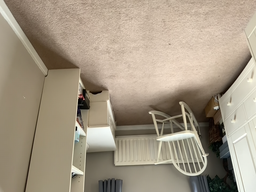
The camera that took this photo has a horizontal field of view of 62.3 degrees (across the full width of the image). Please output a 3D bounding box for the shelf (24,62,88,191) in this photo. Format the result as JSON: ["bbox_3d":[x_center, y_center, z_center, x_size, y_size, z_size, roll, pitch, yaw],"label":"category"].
[{"bbox_3d":[-0.510,0.300,1.670,0.270,1.050,0.440,-2,153,-1],"label":"shelf"}]
